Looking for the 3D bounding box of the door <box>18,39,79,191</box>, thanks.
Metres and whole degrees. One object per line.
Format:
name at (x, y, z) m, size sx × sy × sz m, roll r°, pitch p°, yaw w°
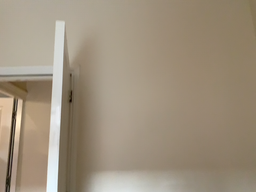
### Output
door at (-0.430, 0.790, 1.250) m, size 0.150 × 1.970 × 0.920 m, roll 1°, pitch -13°, yaw -8°
